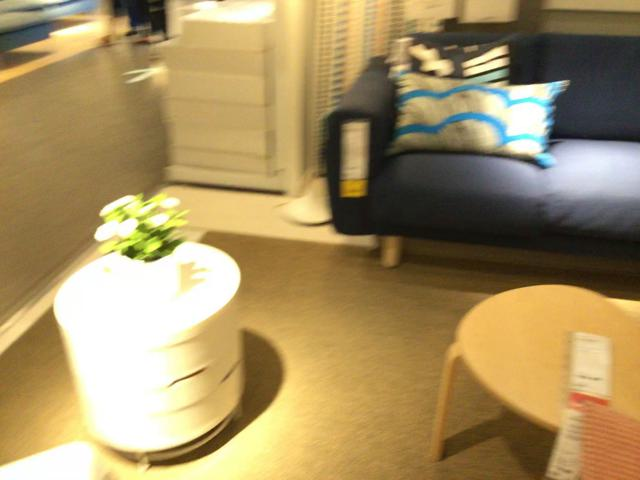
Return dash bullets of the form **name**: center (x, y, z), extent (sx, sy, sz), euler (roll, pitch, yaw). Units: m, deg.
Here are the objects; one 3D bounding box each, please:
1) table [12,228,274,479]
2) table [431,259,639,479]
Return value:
- **table**: center (-0.440, 0.290, 1.620), extent (0.470, 0.440, 0.470), euler (7, 29, 13)
- **table**: center (0.550, 0.380, 1.440), extent (0.480, 0.400, 0.540), euler (7, 29, 13)
